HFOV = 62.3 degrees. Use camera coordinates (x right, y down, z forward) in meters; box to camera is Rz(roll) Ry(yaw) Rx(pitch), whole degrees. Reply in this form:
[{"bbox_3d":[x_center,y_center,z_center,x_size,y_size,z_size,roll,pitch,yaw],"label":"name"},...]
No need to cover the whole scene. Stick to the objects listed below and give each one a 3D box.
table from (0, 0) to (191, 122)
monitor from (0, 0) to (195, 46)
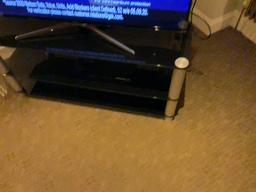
[{"bbox_3d":[-0.240,-0.310,1.470,1.210,0.530,0.620,8,56,8],"label":"table"},{"bbox_3d":[-0.280,-0.540,0.890,1.130,0.690,0.060,7,56,8],"label":"monitor"}]
